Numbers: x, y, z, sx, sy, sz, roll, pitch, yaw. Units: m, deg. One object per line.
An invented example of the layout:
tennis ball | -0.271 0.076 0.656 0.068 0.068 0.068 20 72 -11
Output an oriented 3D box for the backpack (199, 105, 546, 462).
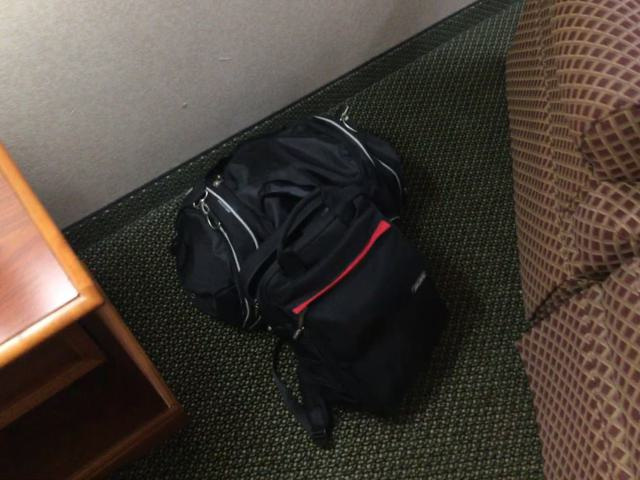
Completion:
backpack | 0.080 0.090 1.100 0.400 0.400 0.390 -34 64 -19
